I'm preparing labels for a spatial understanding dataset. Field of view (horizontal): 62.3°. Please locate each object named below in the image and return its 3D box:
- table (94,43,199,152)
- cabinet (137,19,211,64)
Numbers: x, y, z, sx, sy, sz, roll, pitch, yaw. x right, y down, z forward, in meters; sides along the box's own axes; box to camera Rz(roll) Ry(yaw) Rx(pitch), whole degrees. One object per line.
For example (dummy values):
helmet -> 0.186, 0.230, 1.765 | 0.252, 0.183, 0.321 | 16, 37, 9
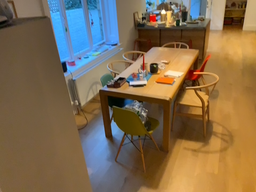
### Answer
table -> 0.470, -0.190, 3.420 | 0.890, 0.740, 2.120 | 10, 31, 25
cabinet -> 1.190, -1.490, 5.660 | 1.780, 0.980, 0.550 | 9, 31, 24
